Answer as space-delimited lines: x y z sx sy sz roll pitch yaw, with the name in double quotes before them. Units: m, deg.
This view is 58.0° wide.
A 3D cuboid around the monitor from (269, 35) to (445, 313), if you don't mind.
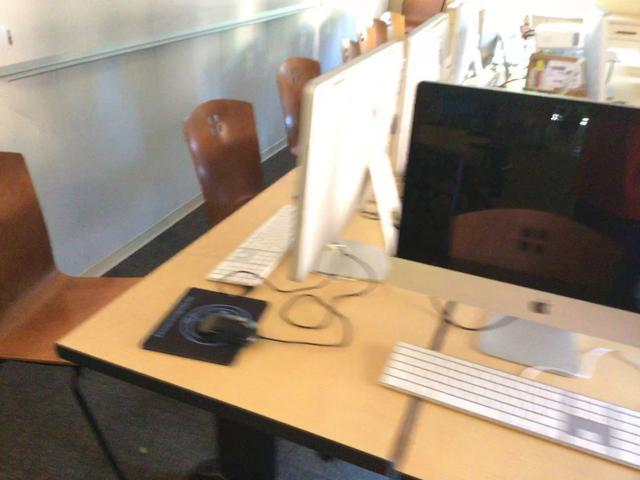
"monitor" 0.090 -0.170 1.170 0.180 0.390 0.520 12 29 16
